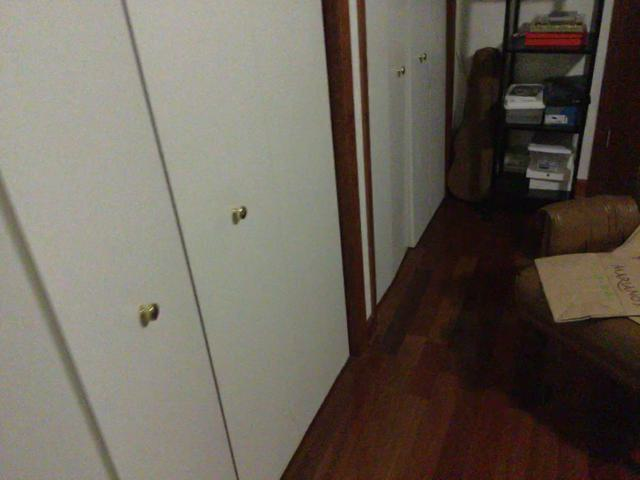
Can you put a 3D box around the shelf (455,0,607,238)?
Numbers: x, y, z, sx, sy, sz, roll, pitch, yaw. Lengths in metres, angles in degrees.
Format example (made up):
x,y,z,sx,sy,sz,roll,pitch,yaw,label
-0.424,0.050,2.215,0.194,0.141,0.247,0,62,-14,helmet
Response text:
x,y,z,sx,sy,sz,roll,pitch,yaw,label
0.910,-0.920,2.470,0.540,1.790,0.450,7,33,23,shelf

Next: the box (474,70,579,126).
x,y,z,sx,sy,sz,roll,pitch,yaw,label
0.950,-0.660,2.650,0.410,0.140,0.360,7,33,23,box

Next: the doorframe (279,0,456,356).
x,y,z,sx,sy,sz,roll,pitch,yaw,label
0.290,-0.660,2.320,0.230,1.760,1.330,7,33,23,doorframe
